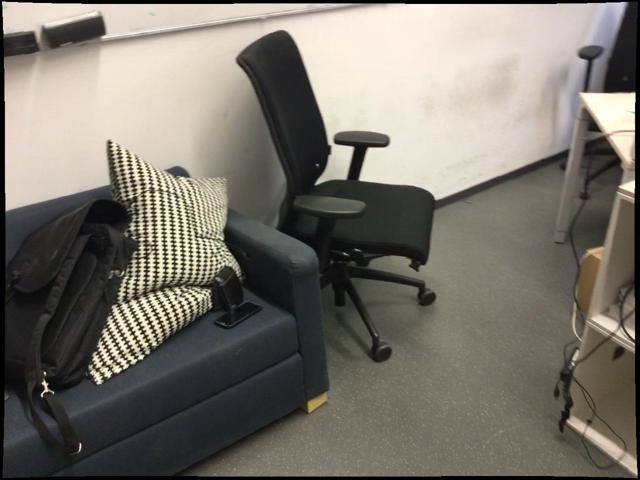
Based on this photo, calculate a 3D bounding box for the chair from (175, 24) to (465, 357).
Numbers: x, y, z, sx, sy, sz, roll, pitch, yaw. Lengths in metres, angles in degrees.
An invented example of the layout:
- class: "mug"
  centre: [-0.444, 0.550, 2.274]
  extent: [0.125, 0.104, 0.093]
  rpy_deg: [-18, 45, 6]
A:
- class: "chair"
  centre: [0.060, -0.200, 2.120]
  extent: [0.819, 1.011, 0.610]
  rpy_deg: [4, 31, 11]

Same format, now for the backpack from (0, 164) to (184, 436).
- class: "backpack"
  centre: [-0.769, 0.130, 1.610]
  extent: [0.540, 0.410, 0.530]
  rpy_deg: [-22, 36, -28]

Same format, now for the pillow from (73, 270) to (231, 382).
- class: "pillow"
  centre: [-0.460, 0.230, 1.620]
  extent: [0.390, 0.120, 0.130]
  rpy_deg: [-22, 36, -28]

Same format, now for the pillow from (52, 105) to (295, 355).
- class: "pillow"
  centre: [-0.450, -0.070, 1.820]
  extent: [0.510, 0.490, 0.520]
  rpy_deg: [-22, 36, -28]
